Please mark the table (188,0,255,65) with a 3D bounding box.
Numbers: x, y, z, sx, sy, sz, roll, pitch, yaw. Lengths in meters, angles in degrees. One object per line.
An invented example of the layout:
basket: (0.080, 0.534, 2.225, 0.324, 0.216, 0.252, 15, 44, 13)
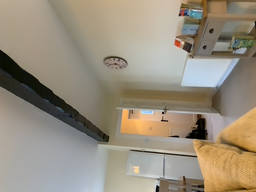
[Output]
table: (1.120, -0.700, 2.360, 0.900, 0.730, 0.280, 72, -157, -69)
